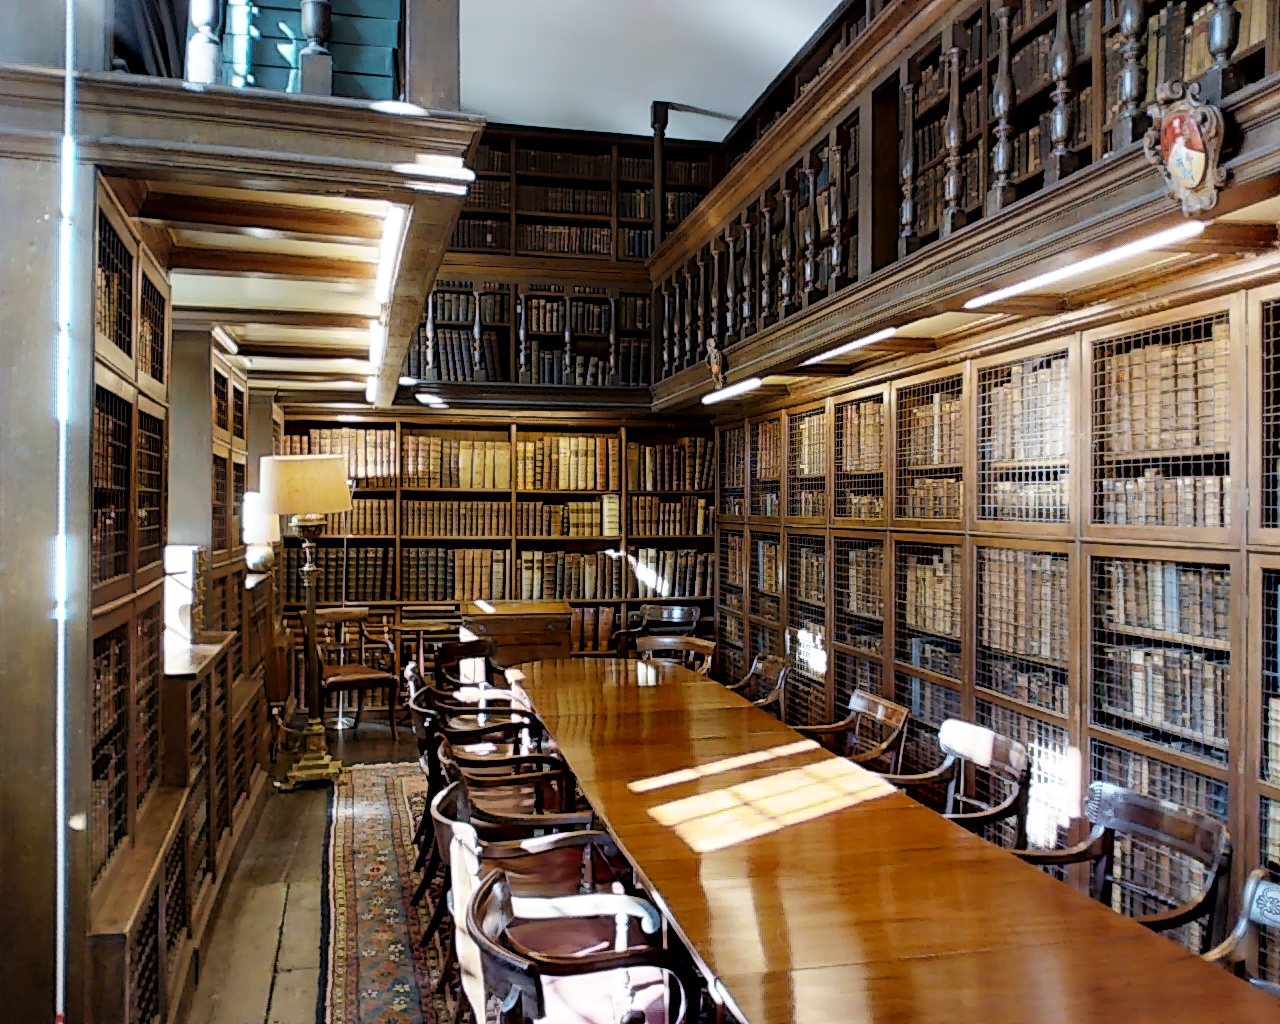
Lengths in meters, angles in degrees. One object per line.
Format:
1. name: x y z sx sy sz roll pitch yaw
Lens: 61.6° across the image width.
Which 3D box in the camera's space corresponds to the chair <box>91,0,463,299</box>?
1. chair: -0.830 -1.000 2.550 0.740 0.830 0.620 0 0 -16
